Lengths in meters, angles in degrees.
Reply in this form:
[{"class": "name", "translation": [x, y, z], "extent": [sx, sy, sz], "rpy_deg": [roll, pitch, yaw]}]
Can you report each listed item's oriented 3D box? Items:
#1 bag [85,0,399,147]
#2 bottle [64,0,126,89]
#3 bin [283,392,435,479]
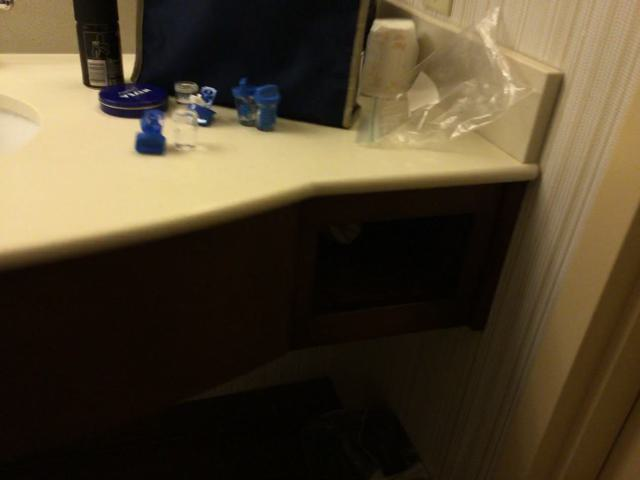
[{"class": "bag", "translation": [-0.080, -0.270, 0.710], "extent": [0.310, 0.200, 0.230], "rpy_deg": [12, 29, 13]}, {"class": "bottle", "translation": [-0.280, -0.260, 0.720], "extent": [0.060, 0.130, 0.050], "rpy_deg": [-5, 30, -18]}, {"class": "bin", "translation": [0.070, 0.480, 1.000], "extent": [0.190, 0.250, 0.310], "rpy_deg": [-5, 30, -18]}]
